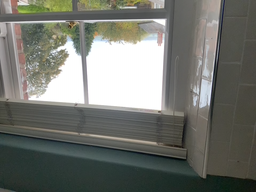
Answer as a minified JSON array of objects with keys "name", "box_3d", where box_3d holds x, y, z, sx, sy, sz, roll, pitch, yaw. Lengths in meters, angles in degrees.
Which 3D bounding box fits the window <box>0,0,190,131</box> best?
[{"name":"window","box_3d":[-0.230,-0.450,1.100,1.060,1.210,0.080,4,-164,14]}]
